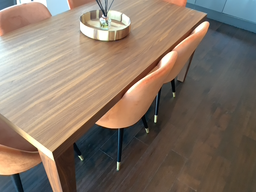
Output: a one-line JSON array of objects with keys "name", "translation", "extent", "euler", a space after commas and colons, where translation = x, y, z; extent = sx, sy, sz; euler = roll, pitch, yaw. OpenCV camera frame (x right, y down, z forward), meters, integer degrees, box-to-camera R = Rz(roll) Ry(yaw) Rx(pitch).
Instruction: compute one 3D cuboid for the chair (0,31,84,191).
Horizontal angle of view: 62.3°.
[{"name": "chair", "translation": [-0.660, 0.200, 1.220], "extent": [0.520, 0.850, 0.550], "euler": [26, 46, 19]}]
